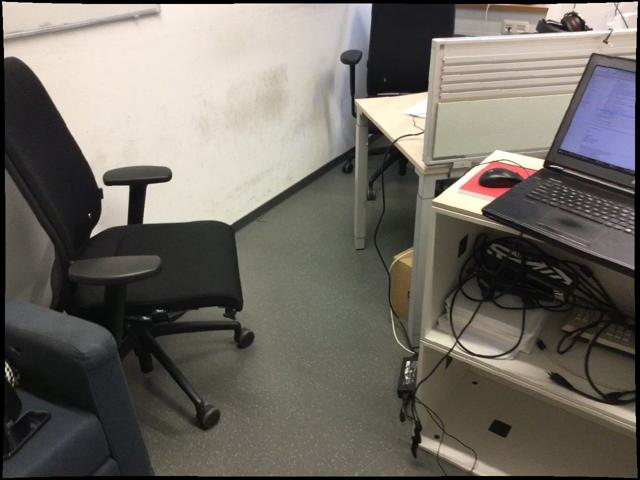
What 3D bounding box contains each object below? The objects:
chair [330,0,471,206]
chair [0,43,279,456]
[{"bbox_3d":[0.460,-0.841,3.220,0.629,1.011,0.770,6,31,13],"label":"chair"},{"bbox_3d":[-0.609,0.000,1.790,0.819,1.011,0.610,-8,30,-11],"label":"chair"}]
